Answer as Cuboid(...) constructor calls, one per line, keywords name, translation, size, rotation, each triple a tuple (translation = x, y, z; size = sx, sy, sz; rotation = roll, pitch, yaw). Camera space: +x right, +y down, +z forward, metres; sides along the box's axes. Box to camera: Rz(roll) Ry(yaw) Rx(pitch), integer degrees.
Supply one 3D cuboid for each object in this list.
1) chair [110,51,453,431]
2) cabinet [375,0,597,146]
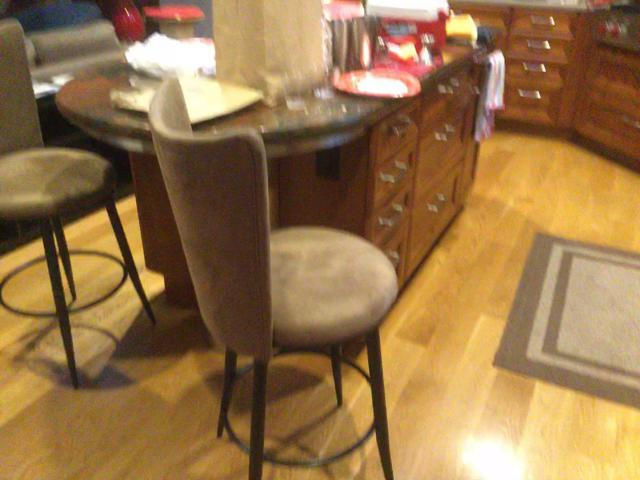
Cuboid(name="chair", translation=(-0.110, -0.050, 1.190), size=(0.490, 0.530, 0.510), rotation=(-11, 31, -20))
Cuboid(name="cabinet", translation=(1.040, -1.220, 3.870), size=(1.320, 0.940, 0.190), rotation=(16, 32, 25))
